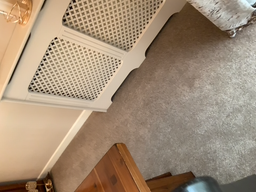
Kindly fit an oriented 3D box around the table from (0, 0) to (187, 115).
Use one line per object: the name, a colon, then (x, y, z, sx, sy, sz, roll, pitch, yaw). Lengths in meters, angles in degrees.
table: (-0.280, -0.370, 1.460, 1.180, 0.920, 0.200, -52, 51, 24)
